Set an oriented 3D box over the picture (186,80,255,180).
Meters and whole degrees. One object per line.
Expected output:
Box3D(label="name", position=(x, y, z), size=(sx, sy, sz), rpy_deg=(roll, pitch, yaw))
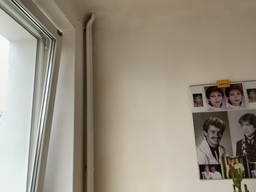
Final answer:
Box3D(label="picture", position=(0.730, 0.240, 1.560), size=(0.510, 0.690, 0.050), rpy_deg=(-4, -14, 6))
